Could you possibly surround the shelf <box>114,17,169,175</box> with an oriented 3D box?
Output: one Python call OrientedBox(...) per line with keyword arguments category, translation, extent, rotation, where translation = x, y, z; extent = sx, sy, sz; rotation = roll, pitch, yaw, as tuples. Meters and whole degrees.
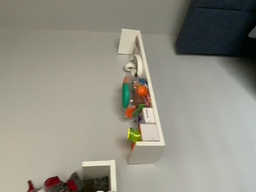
OrientedBox(category="shelf", translation=(0.030, -0.080, 1.180), extent=(0.200, 0.160, 0.950), rotation=(101, 166, -51))
